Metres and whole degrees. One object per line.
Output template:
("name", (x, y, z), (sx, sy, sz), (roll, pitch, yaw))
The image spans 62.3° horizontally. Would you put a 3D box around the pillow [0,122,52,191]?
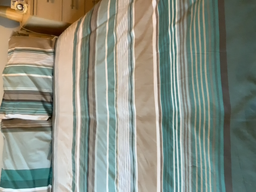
("pillow", (-0.840, 0.570, 1.750), (0.180, 0.350, 0.680), (-1, 85, 25))
